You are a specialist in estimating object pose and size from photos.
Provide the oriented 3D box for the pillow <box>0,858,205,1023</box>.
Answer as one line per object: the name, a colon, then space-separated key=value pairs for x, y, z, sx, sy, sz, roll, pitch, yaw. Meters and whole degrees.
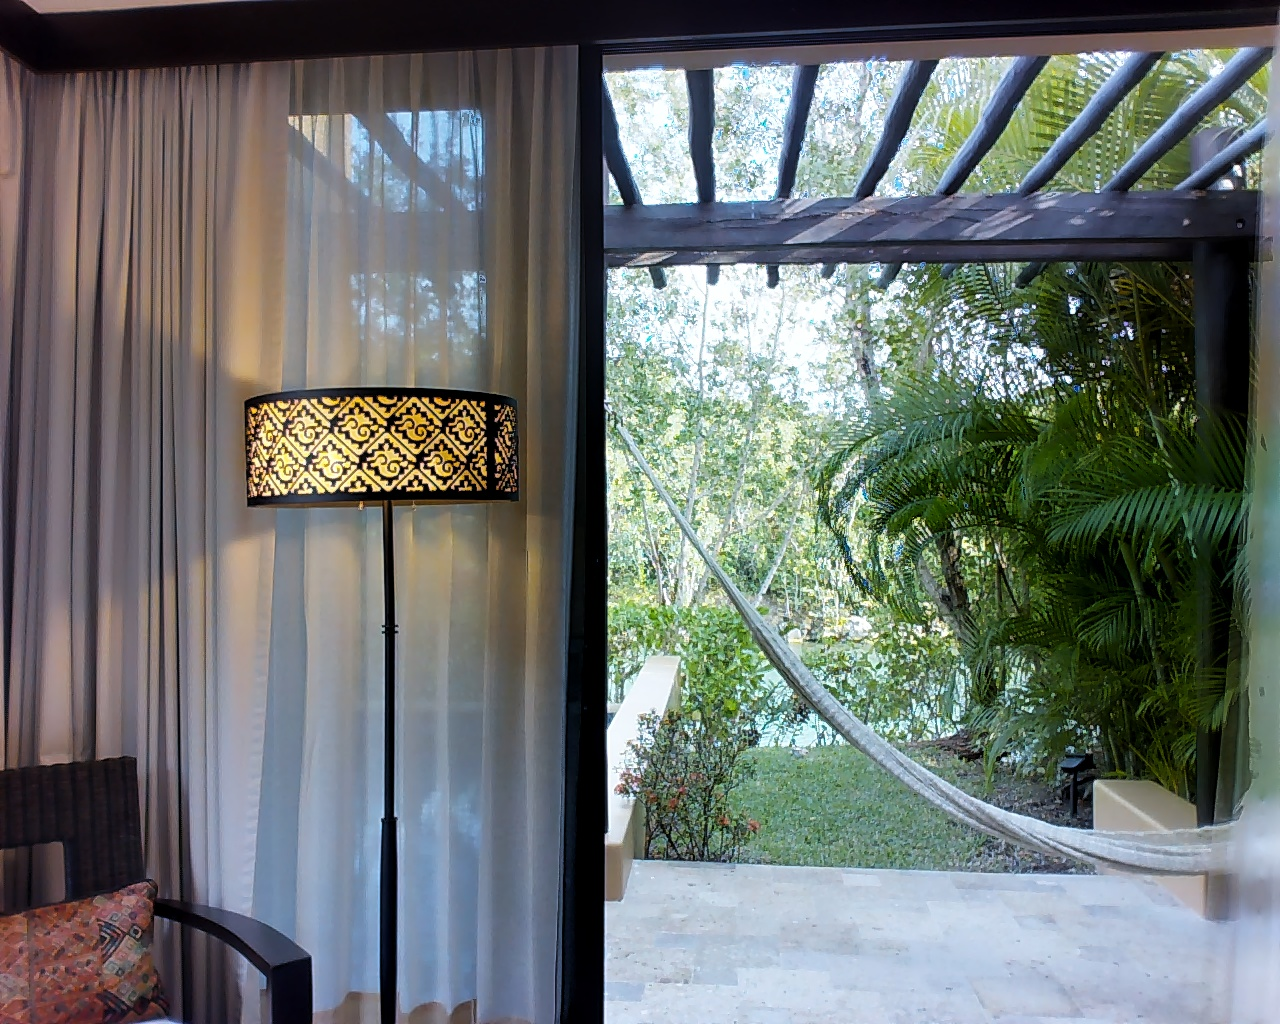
pillow: x=-1.100 y=0.820 z=1.960 sx=0.530 sy=0.220 sz=0.210 roll=0 pitch=0 yaw=-40

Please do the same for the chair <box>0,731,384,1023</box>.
chair: x=-1.080 y=0.950 z=1.820 sx=0.930 sy=0.890 sz=1.000 roll=0 pitch=0 yaw=-38
